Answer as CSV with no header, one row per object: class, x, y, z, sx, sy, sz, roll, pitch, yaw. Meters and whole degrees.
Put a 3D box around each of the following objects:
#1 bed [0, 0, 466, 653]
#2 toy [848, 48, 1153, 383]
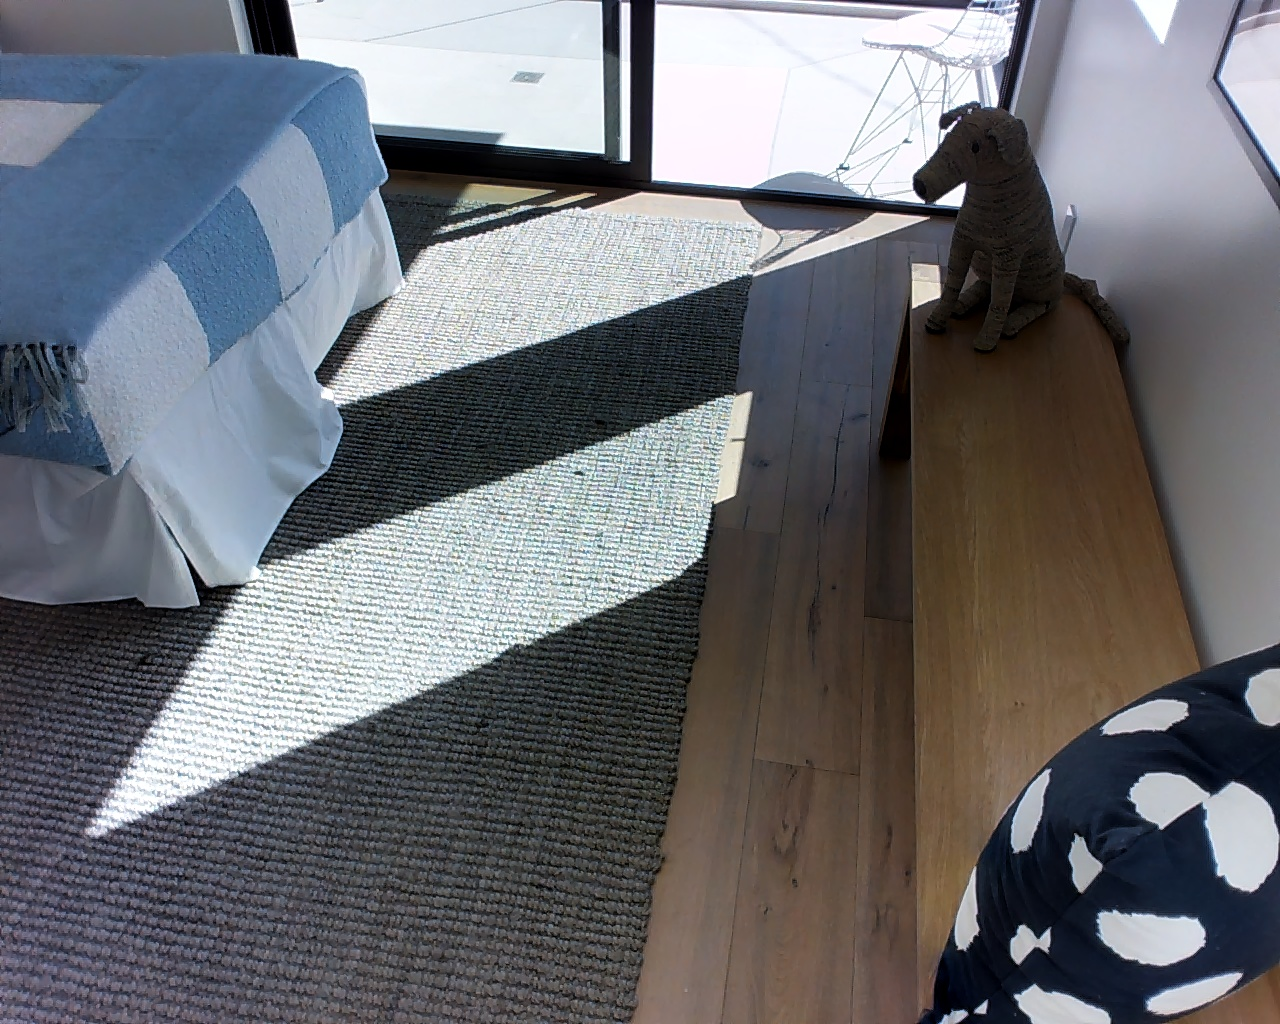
bed,-1.710,-0.610,2.540,2.160,0.680,1.520,7,42,7
toy,0.650,-0.550,1.980,0.450,0.440,0.220,-28,49,-28
